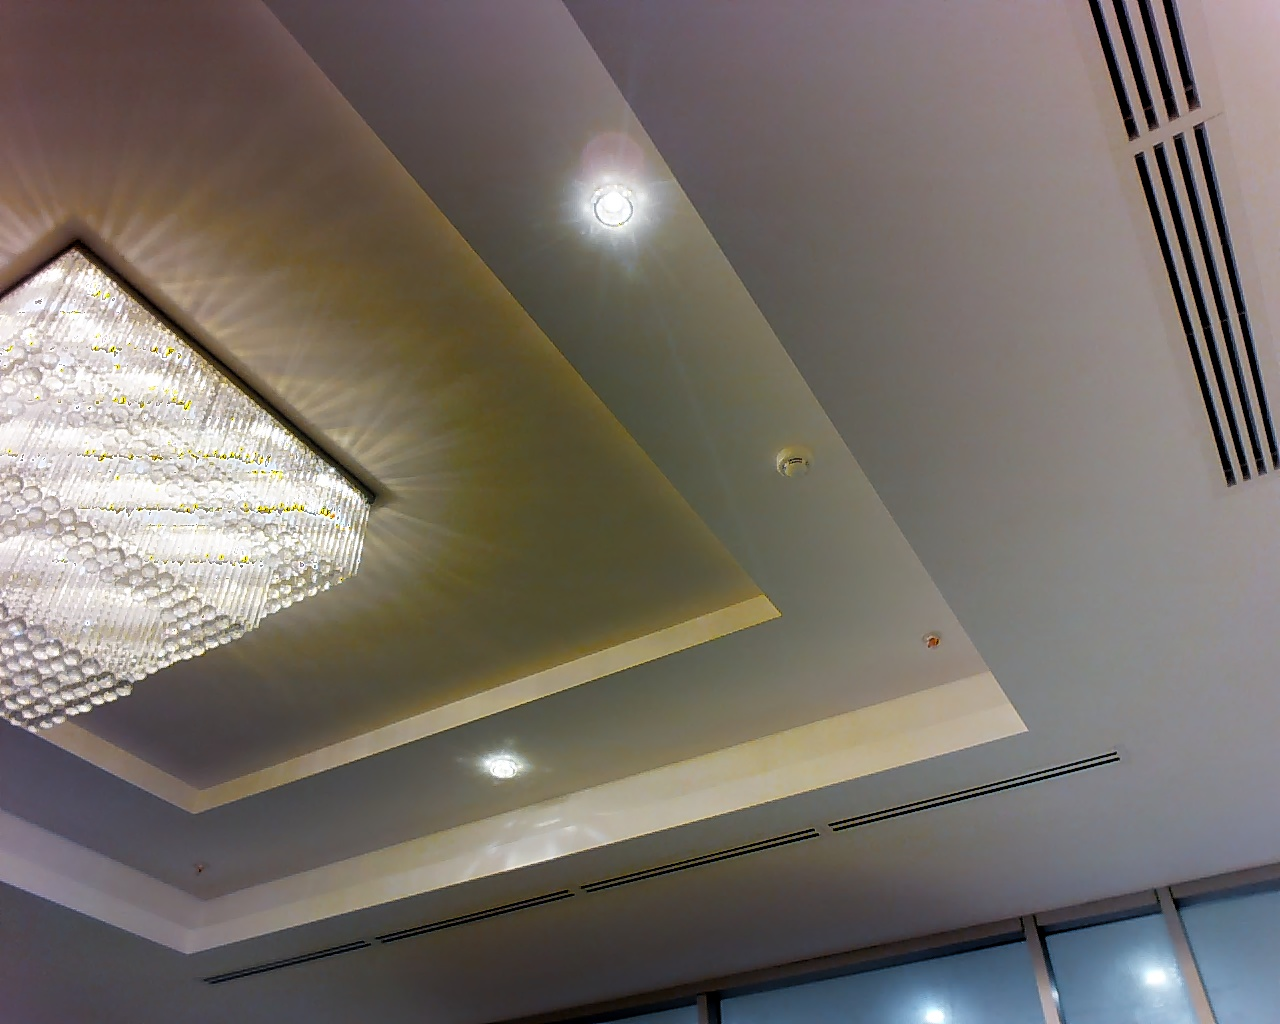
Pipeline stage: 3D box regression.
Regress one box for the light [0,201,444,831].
[{"bbox_3d":[-1.449,0.130,2.790,1.319,0.680,1.200,-21,-46,22],"label":"light"}]
